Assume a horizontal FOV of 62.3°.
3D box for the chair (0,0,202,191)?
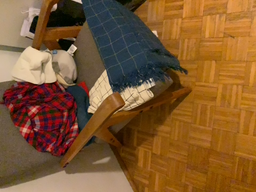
[{"bbox_3d":[-0.230,-0.070,1.080,0.730,0.760,0.620,-44,67,30],"label":"chair"}]
